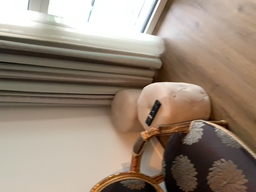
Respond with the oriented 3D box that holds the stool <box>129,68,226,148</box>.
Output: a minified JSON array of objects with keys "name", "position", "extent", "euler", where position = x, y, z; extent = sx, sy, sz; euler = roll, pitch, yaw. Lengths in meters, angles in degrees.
[{"name":"stool","position":[0.350,0.080,1.610],"extent":[0.410,0.450,0.380],"euler":[58,134,38]}]

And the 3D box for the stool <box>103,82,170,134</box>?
[{"name":"stool","position":[0.070,0.110,2.010],"extent":[0.330,0.450,0.320],"euler":[58,134,38]}]
